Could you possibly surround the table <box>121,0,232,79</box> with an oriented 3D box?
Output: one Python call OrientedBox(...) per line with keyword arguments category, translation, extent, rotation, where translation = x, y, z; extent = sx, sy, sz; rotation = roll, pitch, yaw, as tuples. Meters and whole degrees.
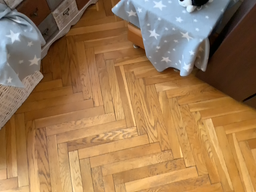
OrientedBox(category="table", translation=(0.260, -0.450, 1.200), extent=(0.440, 0.430, 0.420), rotation=(31, 74, 8))
